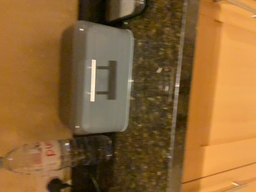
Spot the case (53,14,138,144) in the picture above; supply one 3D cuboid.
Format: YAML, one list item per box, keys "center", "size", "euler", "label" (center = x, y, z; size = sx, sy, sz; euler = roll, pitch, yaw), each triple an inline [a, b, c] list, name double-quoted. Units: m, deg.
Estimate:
- center: [-0.110, -0.050, 0.620]
  size: [0.220, 0.150, 0.300]
  euler: [17, 104, 57]
  label: "case"
